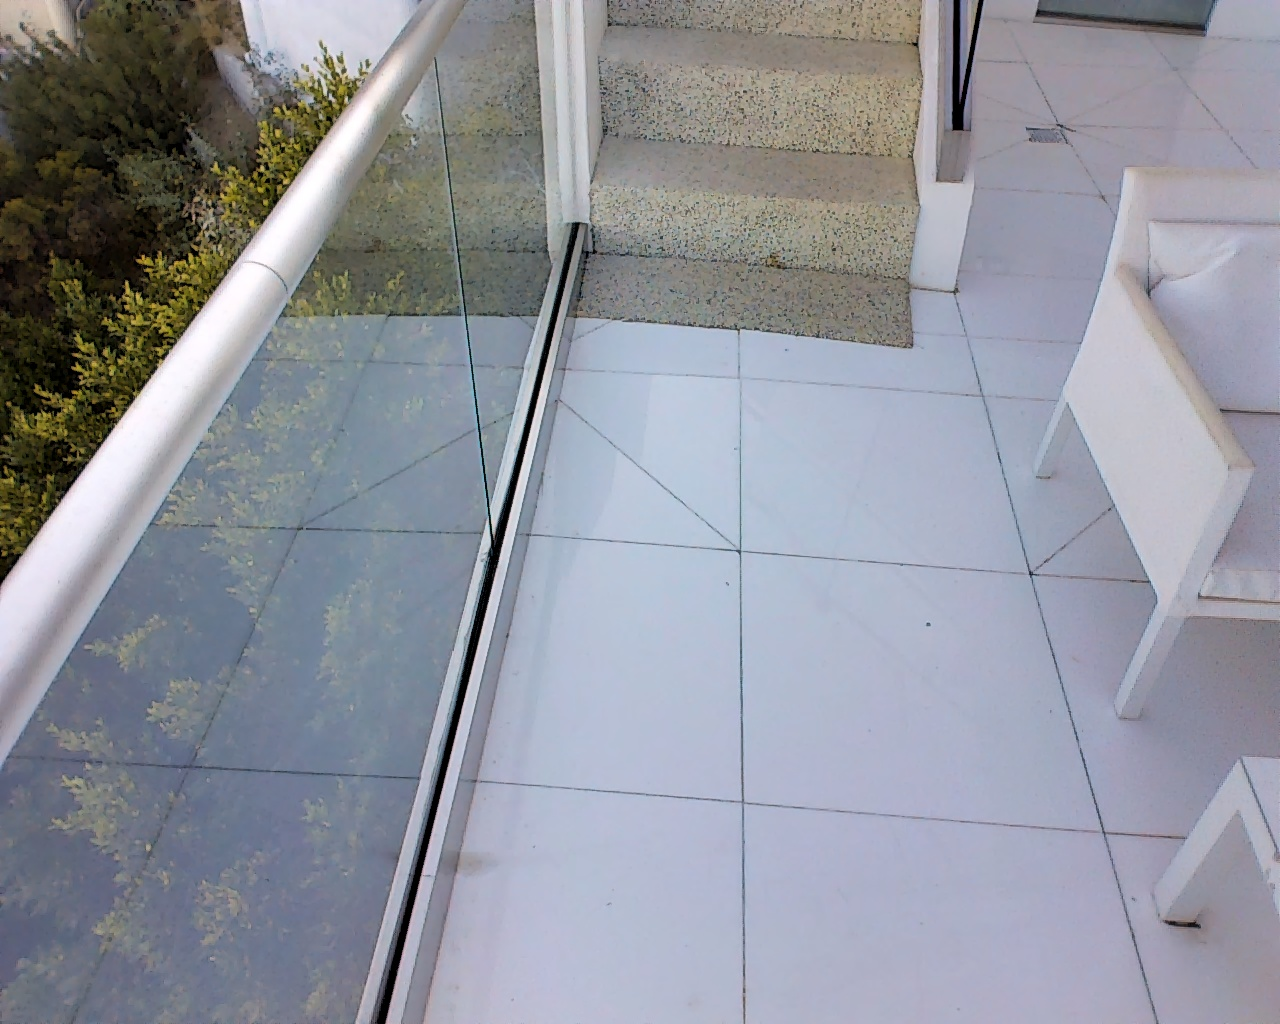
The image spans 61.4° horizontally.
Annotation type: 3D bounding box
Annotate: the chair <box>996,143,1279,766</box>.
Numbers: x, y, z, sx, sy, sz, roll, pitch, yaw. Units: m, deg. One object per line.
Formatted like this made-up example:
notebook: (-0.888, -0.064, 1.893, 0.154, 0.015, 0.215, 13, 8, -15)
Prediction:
chair: (1.200, -0.110, 1.950, 0.770, 0.760, 0.830, 3, 42, 2)
